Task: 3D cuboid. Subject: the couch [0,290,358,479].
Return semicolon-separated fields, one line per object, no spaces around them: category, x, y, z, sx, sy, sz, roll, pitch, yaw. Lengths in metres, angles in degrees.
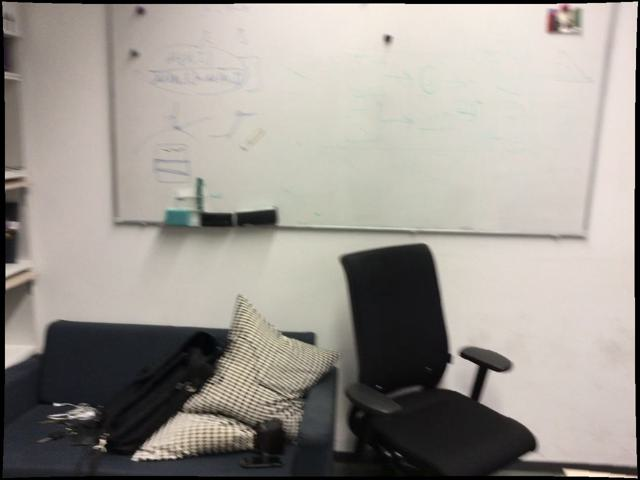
couch;-0.679;0.711;2.220;1.588;0.751;0.820;2;13;6

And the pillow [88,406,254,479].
pillow;-0.490;0.681;1.950;0.500;0.120;0.200;2;13;6

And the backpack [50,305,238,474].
backpack;-0.619;0.531;2.180;0.500;0.400;0.510;2;13;6

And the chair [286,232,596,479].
chair;0.390;0.541;2.060;0.730;0.951;0.730;-9;16;-38

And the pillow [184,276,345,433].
pillow;-0.180;0.410;2.240;0.509;0.380;0.550;2;13;6
